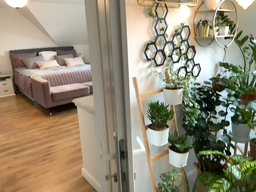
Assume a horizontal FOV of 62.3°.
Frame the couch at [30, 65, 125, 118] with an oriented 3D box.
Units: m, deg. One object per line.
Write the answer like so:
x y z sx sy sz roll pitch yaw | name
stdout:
-1.130 -0.200 5.060 1.960 0.760 0.880 -15 20 -37 | couch
